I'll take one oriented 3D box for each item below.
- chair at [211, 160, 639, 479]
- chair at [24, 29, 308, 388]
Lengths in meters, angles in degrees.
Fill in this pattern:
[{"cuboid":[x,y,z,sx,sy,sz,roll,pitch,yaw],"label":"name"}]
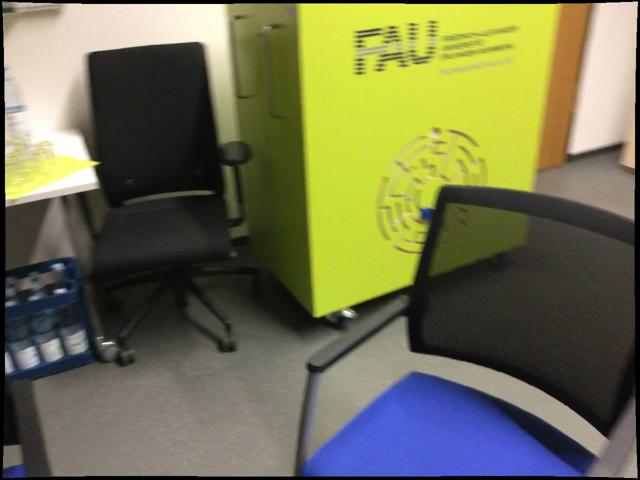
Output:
[{"cuboid":[0.290,0.410,1.180,0.560,0.871,0.700,24,39,39],"label":"chair"},{"cuboid":[-0.589,-0.190,2.250,0.749,1.011,0.830,-15,31,-21],"label":"chair"}]
